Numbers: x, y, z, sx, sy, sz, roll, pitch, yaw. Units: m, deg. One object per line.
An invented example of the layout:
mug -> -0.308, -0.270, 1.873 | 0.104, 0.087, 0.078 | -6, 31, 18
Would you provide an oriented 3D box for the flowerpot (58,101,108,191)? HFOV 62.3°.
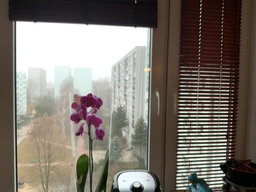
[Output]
flowerpot -> -0.220, 0.350, 1.070 | 0.210, 0.620, 0.300 | 1, 3, -9
